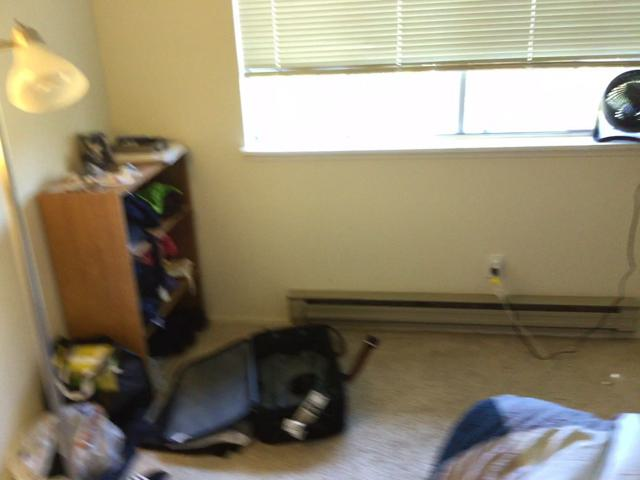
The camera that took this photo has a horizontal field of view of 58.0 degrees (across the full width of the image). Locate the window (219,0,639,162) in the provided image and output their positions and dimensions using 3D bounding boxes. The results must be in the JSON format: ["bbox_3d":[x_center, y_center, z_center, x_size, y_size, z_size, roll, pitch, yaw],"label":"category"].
[{"bbox_3d":[0.520,-0.930,2.100,1.750,1.200,0.310,0,22,9],"label":"window"}]

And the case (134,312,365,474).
[{"bbox_3d":[-0.240,0.560,2.270,0.760,0.190,0.690,-4,22,0],"label":"case"}]
